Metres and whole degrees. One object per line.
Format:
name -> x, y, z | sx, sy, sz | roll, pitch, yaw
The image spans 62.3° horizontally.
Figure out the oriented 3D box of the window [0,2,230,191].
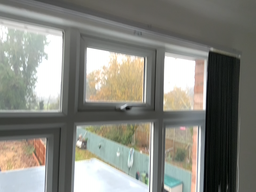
window -> 0.020, 0.330, 1.070 | 1.610, 1.250, 0.060 | 3, -1, -34
